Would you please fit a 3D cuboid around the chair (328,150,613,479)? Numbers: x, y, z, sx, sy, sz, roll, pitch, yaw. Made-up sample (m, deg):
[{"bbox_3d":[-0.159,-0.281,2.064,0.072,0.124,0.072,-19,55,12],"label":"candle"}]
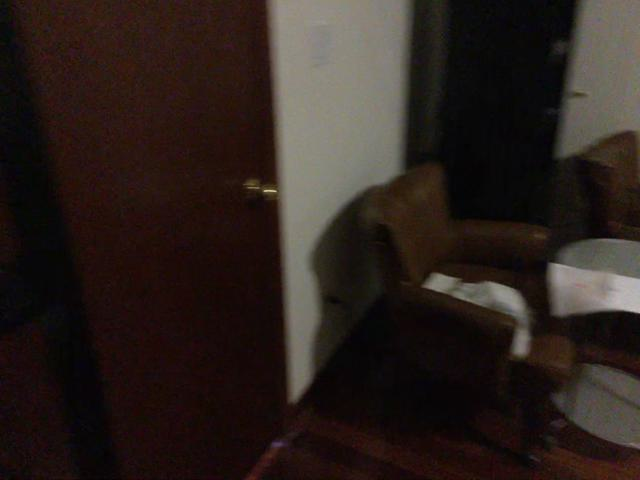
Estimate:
[{"bbox_3d":[0.500,0.210,1.920,0.660,0.780,0.680,12,30,29],"label":"chair"}]
